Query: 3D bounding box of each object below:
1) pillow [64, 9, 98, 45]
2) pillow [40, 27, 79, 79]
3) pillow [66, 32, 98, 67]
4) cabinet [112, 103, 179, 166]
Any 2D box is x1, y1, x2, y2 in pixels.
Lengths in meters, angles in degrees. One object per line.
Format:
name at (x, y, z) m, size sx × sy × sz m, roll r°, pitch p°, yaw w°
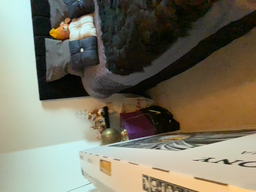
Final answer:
pillow at (-0.460, -0.660, 2.050) m, size 0.090 × 0.310 × 0.230 m, roll 16°, pitch -116°, yaw -65°
pillow at (-0.690, -0.420, 2.120) m, size 0.110 × 0.370 × 0.430 m, roll 20°, pitch -117°, yaw -68°
pillow at (-0.430, -0.430, 1.990) m, size 0.120 × 0.240 × 0.250 m, roll 8°, pitch -106°, yaw -72°
cabinet at (0.150, 0.350, 2.150) m, size 0.520 × 0.460 × 0.370 m, roll -142°, pitch 51°, yaw -60°
